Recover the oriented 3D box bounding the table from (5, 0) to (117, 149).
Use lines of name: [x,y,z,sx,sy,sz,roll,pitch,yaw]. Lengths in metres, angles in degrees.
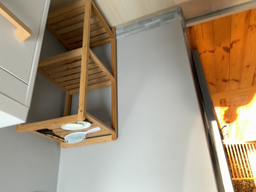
table: [-0.300,-0.150,1.150,0.350,0.760,0.360,-12,151,16]
